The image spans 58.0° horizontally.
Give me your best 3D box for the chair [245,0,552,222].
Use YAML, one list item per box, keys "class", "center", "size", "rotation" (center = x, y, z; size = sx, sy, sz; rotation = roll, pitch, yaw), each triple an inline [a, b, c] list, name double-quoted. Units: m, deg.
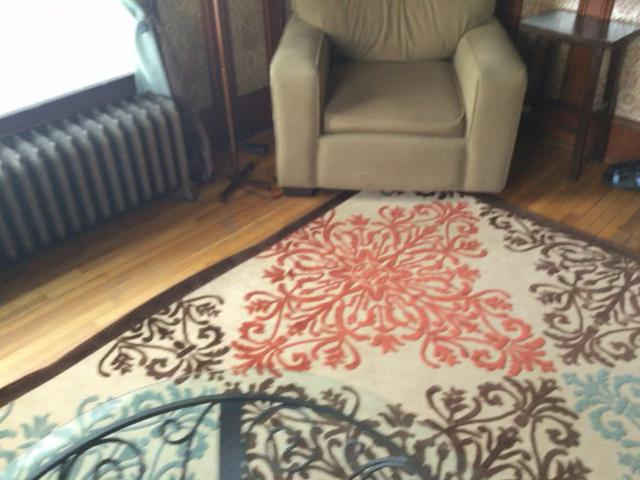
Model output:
- class: "chair"
  center: [0.340, -0.750, 2.660]
  size: [1.060, 0.890, 0.990]
  rotation: [-3, 35, 7]
